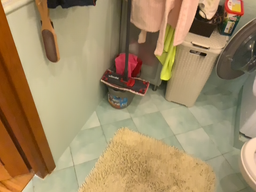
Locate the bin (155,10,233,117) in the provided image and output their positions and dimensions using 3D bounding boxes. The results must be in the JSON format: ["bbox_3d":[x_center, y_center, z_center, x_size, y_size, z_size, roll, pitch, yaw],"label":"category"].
[{"bbox_3d":[0.520,-0.260,1.730,0.360,0.630,0.480,20,47,12],"label":"bin"}]
